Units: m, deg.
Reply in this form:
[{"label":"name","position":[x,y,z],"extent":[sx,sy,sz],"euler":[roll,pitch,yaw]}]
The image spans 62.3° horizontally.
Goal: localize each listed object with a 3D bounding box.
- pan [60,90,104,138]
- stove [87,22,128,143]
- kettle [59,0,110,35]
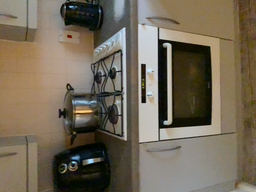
[{"label":"pan","position":[-0.290,0.100,1.310],"extent":[0.230,0.210,0.260],"euler":[-1,89,63]},{"label":"stove","position":[-0.150,-0.060,1.290],"extent":[0.560,0.030,0.590],"euler":[-3,88,63]},{"label":"kettle","position":[-0.290,-0.550,1.390],"extent":[0.220,0.270,0.200],"euler":[-6,84,62]}]
